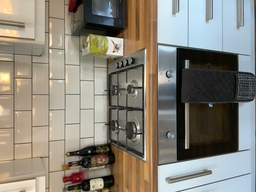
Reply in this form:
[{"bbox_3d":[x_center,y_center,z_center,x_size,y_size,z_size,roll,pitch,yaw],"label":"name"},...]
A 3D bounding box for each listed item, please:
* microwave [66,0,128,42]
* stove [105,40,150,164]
[{"bbox_3d":[-0.200,-0.610,1.300,0.310,0.290,0.450,-1,89,63],"label":"microwave"},{"bbox_3d":[-0.030,0.030,1.290,0.550,0.030,0.610,0,90,63],"label":"stove"}]
